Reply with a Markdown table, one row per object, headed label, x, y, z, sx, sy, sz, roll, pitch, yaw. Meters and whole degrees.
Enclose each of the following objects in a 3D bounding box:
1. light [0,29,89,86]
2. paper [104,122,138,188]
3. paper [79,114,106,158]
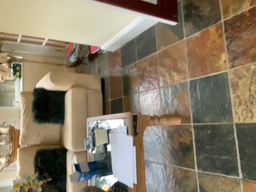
| label | x | y | z | sx | sy | sz | roll | pitch | yaw |
| --- | --- | --- | --- | --- | --- | --- | --- | --- | --- |
| light | -1.490 | -0.540 | 3.090 | 0.480 | 1.700 | 0.560 | -40 | 56 | 50 |
| paper | -0.060 | 0.370 | 1.420 | 0.330 | 0.060 | 0.380 | -11 | 80 | 57 |
| paper | -0.310 | 0.330 | 1.790 | 0.330 | 0.090 | 0.330 | -15 | 76 | 57 |
